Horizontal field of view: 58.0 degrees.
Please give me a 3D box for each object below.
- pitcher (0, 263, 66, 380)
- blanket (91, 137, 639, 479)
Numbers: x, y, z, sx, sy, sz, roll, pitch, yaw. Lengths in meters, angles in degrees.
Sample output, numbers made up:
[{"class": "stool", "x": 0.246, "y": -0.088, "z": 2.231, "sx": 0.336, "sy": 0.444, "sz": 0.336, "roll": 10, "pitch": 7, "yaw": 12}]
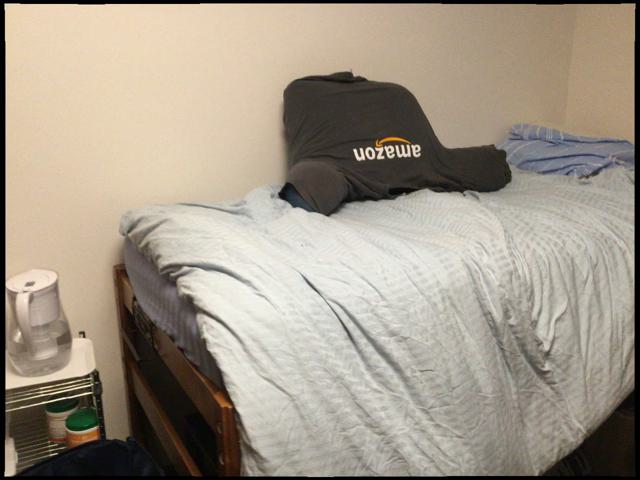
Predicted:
[{"class": "pitcher", "x": -0.788, "y": 0.210, "z": 1.560, "sx": 0.130, "sy": 0.230, "sz": 0.220, "roll": -9, "pitch": 18, "yaw": -31}, {"class": "blanket", "x": 0.419, "y": 0.140, "z": 1.810, "sx": 1.877, "sy": 0.741, "sz": 1.059, "roll": -9, "pitch": 18, "yaw": -31}]
